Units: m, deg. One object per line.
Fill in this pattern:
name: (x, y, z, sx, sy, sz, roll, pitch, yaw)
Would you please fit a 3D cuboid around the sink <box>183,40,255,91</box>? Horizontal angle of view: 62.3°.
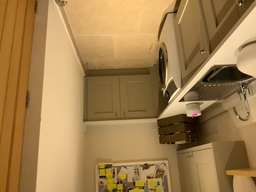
sink: (0.770, -0.220, 1.690, 0.510, 0.180, 0.510, -3, 163, -3)
